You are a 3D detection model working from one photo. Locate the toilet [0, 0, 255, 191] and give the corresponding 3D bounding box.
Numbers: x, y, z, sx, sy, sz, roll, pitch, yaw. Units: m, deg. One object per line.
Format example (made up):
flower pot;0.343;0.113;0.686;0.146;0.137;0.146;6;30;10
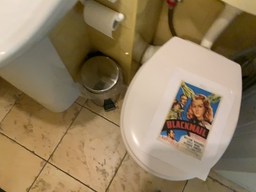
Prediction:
toilet;0.210;-0.050;0.660;0.360;0.970;0.620;29;75;7
